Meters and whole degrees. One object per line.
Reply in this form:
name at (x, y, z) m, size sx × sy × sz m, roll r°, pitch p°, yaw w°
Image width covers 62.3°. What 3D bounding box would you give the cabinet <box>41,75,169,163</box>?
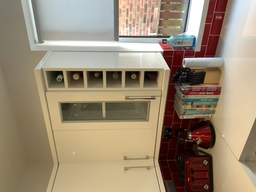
cabinet at (-0.160, 0.170, 1.630) m, size 0.360 × 0.800 × 0.550 m, roll -98°, pitch 9°, yaw -60°
